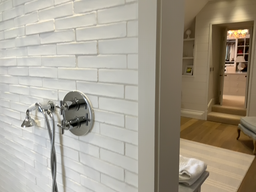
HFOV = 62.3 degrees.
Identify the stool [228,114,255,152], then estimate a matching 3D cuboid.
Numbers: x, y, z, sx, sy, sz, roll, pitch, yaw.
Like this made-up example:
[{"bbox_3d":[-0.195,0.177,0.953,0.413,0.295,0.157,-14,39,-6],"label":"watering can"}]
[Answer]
[{"bbox_3d":[2.230,0.650,3.830,0.500,0.460,0.730,0,9,4],"label":"stool"}]
